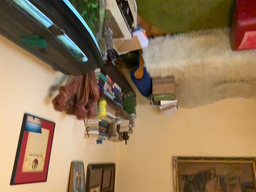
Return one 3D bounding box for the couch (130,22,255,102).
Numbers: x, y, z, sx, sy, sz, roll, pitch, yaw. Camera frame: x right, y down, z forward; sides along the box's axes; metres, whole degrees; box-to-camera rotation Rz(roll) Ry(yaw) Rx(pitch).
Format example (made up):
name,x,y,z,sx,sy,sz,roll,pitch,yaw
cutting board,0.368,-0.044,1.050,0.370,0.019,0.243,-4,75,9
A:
name,x,y,z,sx,sy,sz,roll,pitch,yaw
couch,1.150,-0.360,2.550,2.140,0.660,0.690,-2,164,14
